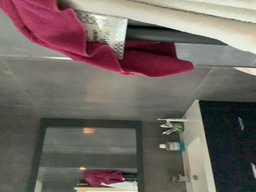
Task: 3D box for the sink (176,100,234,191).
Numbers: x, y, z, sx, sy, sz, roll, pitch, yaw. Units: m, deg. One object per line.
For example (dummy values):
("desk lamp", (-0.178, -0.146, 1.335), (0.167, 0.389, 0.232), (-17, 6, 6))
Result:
("sink", (0.560, 0.590, 1.580), (0.470, 0.150, 1.010), (101, 170, -61))
